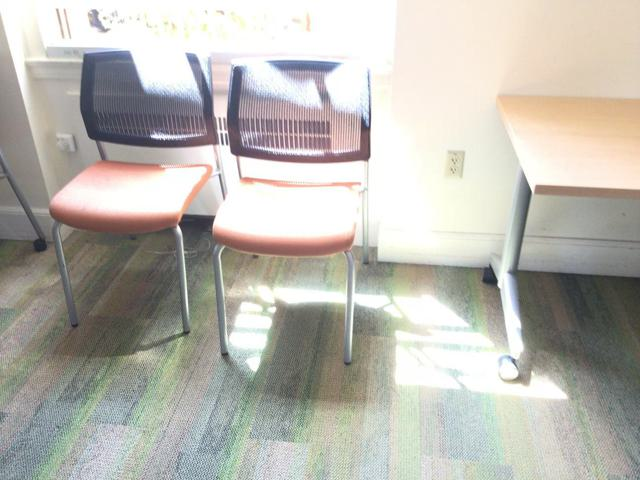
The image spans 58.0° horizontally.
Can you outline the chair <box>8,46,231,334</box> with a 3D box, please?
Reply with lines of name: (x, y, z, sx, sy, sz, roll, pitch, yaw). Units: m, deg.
chair: (-0.630, -0.200, 2.070, 0.490, 0.840, 0.610, 2, 27, 1)
